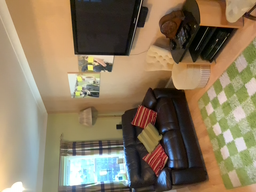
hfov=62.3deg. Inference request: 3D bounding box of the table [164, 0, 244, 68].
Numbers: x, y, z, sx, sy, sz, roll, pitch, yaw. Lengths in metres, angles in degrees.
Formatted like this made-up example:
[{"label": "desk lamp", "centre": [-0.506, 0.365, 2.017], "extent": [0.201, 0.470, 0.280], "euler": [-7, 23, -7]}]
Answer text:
[{"label": "table", "centre": [0.840, -0.790, 2.550], "extent": [0.790, 0.480, 0.520], "euler": [110, 156, -59]}]
